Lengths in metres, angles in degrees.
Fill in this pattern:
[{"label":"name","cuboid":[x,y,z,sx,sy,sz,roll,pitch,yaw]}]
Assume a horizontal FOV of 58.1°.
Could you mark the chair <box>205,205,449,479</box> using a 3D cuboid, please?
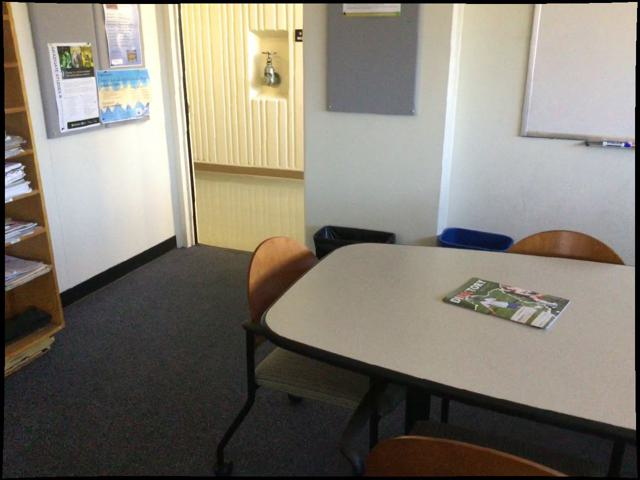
[{"label":"chair","cuboid":[0.060,0.371,1.930,0.579,0.802,0.570,7,22,24]}]
